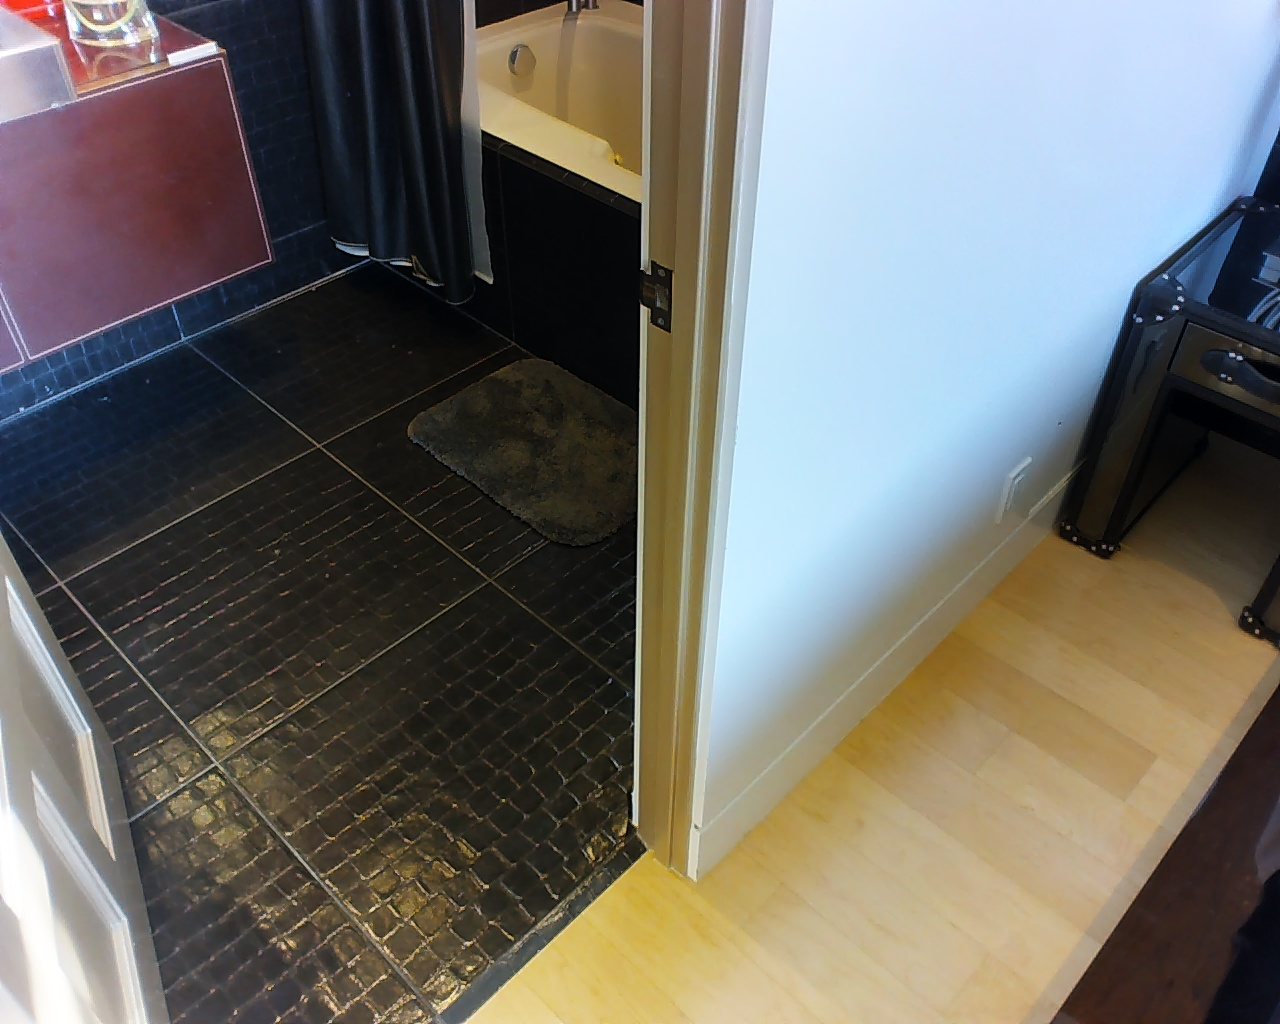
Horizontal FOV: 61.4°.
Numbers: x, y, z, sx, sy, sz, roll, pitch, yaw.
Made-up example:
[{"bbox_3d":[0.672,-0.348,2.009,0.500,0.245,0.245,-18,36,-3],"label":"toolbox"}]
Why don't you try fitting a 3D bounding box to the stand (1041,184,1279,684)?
[{"bbox_3d":[1.270,-0.160,2.100,0.550,0.620,0.630,34,52,31],"label":"stand"}]
